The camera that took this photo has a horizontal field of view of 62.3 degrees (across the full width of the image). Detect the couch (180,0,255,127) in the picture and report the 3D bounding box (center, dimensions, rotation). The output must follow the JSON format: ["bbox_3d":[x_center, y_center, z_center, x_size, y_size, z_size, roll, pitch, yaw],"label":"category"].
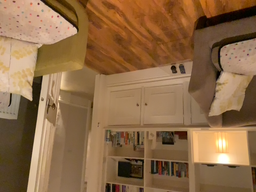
[{"bbox_3d":[1.480,-0.240,1.700,1.830,0.860,1.030,-5,165,29],"label":"couch"}]
